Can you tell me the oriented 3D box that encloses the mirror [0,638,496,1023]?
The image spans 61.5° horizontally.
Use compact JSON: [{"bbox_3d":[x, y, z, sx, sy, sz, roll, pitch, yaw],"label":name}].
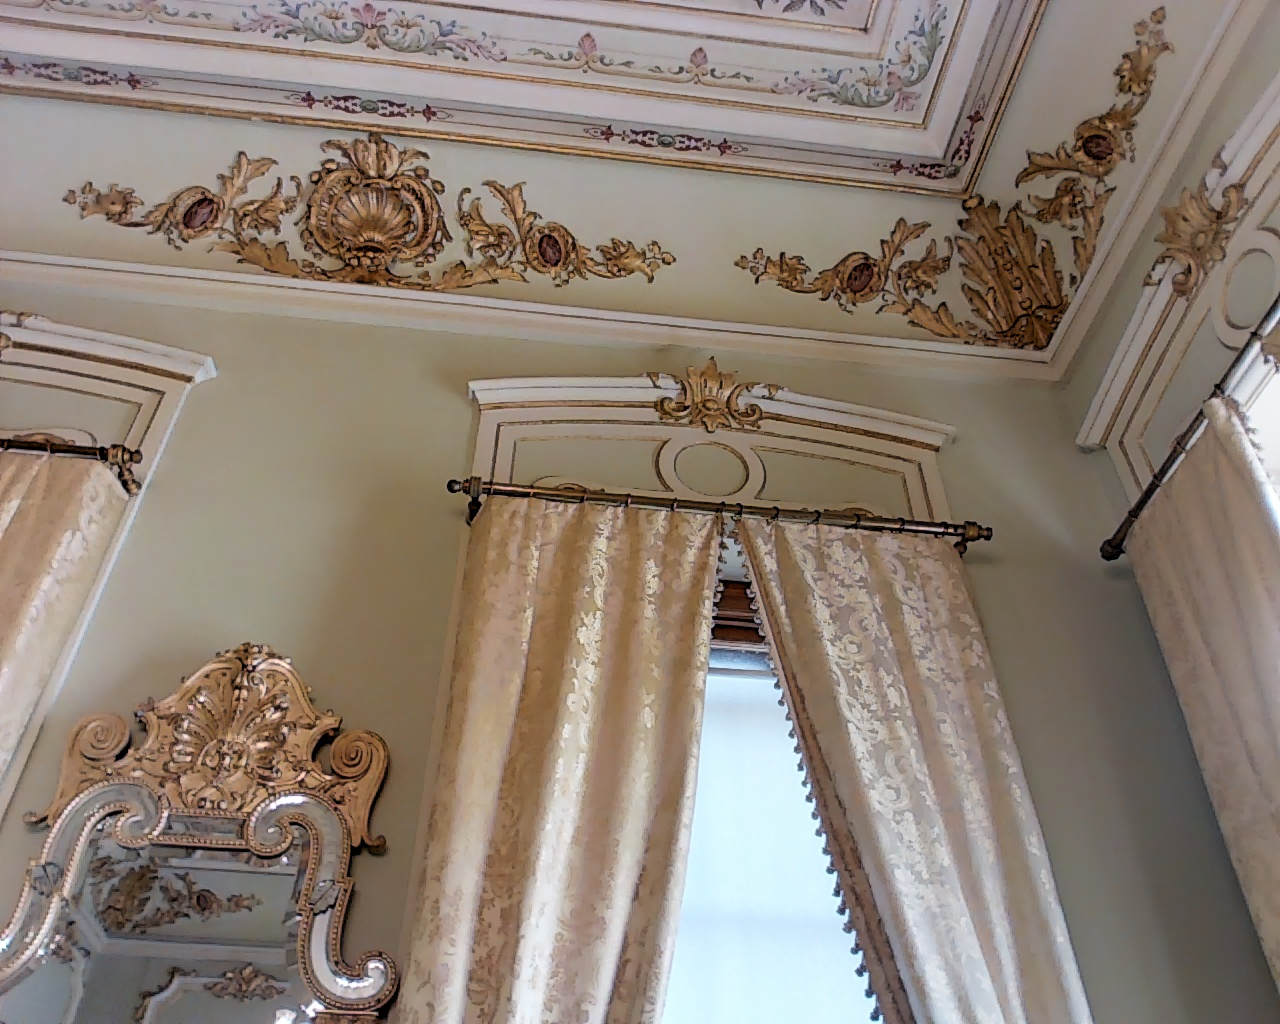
[{"bbox_3d":[-1.049,1.351,2.250,1.219,2.451,0.130,5,-43,-4],"label":"mirror"}]
